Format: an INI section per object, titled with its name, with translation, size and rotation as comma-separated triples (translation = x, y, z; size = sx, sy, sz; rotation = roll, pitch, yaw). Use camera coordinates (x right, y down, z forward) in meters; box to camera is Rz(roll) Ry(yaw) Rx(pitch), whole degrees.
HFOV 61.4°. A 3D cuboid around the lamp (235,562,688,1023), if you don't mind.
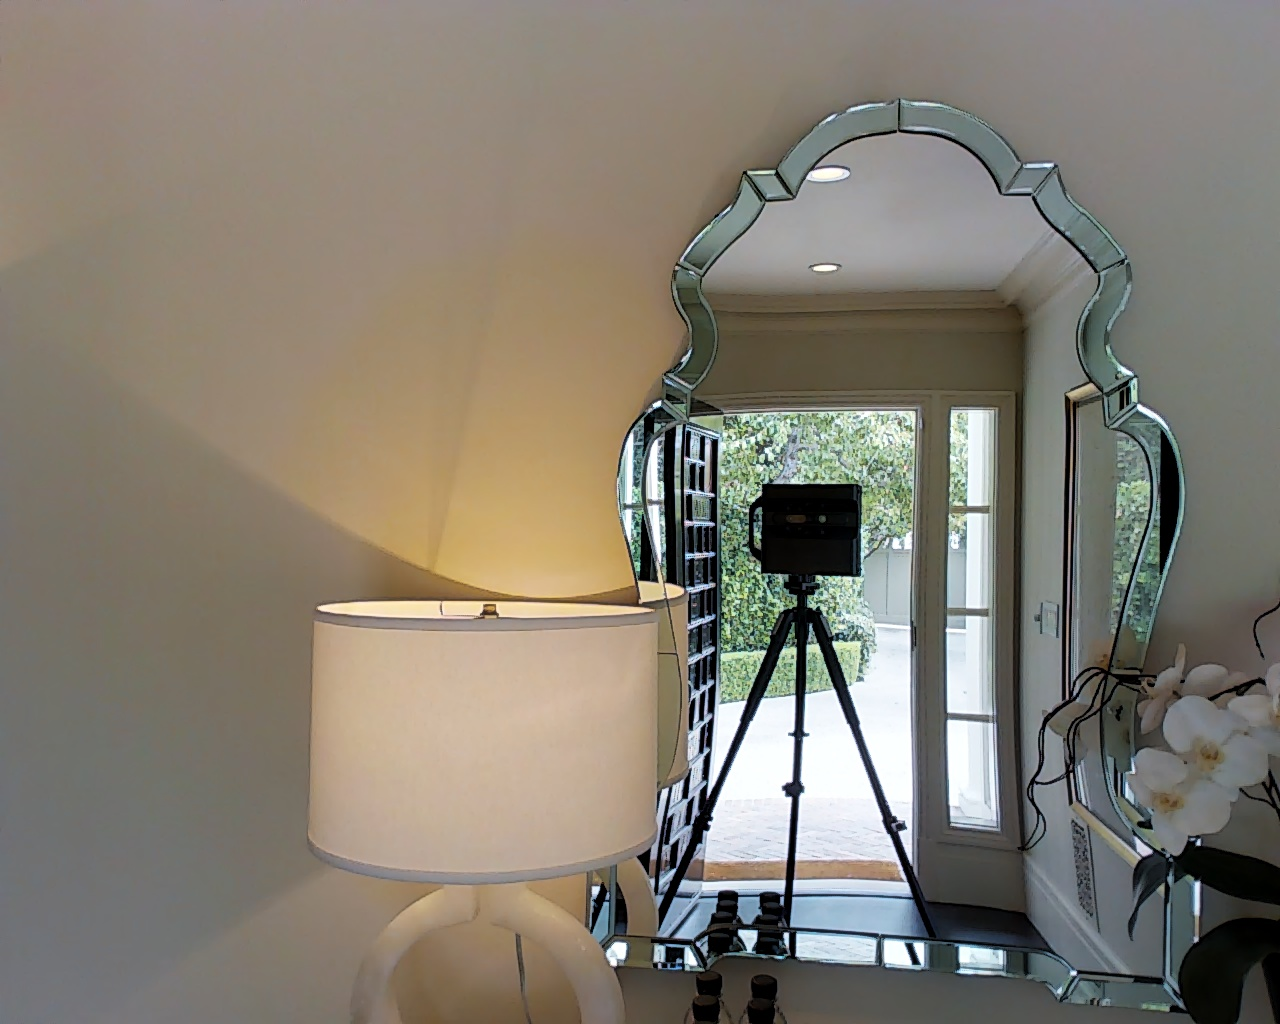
[lamp]
translation = -0.170, 0.410, 1.200
size = 0.400, 0.680, 0.360
rotation = 1, 1, 9
